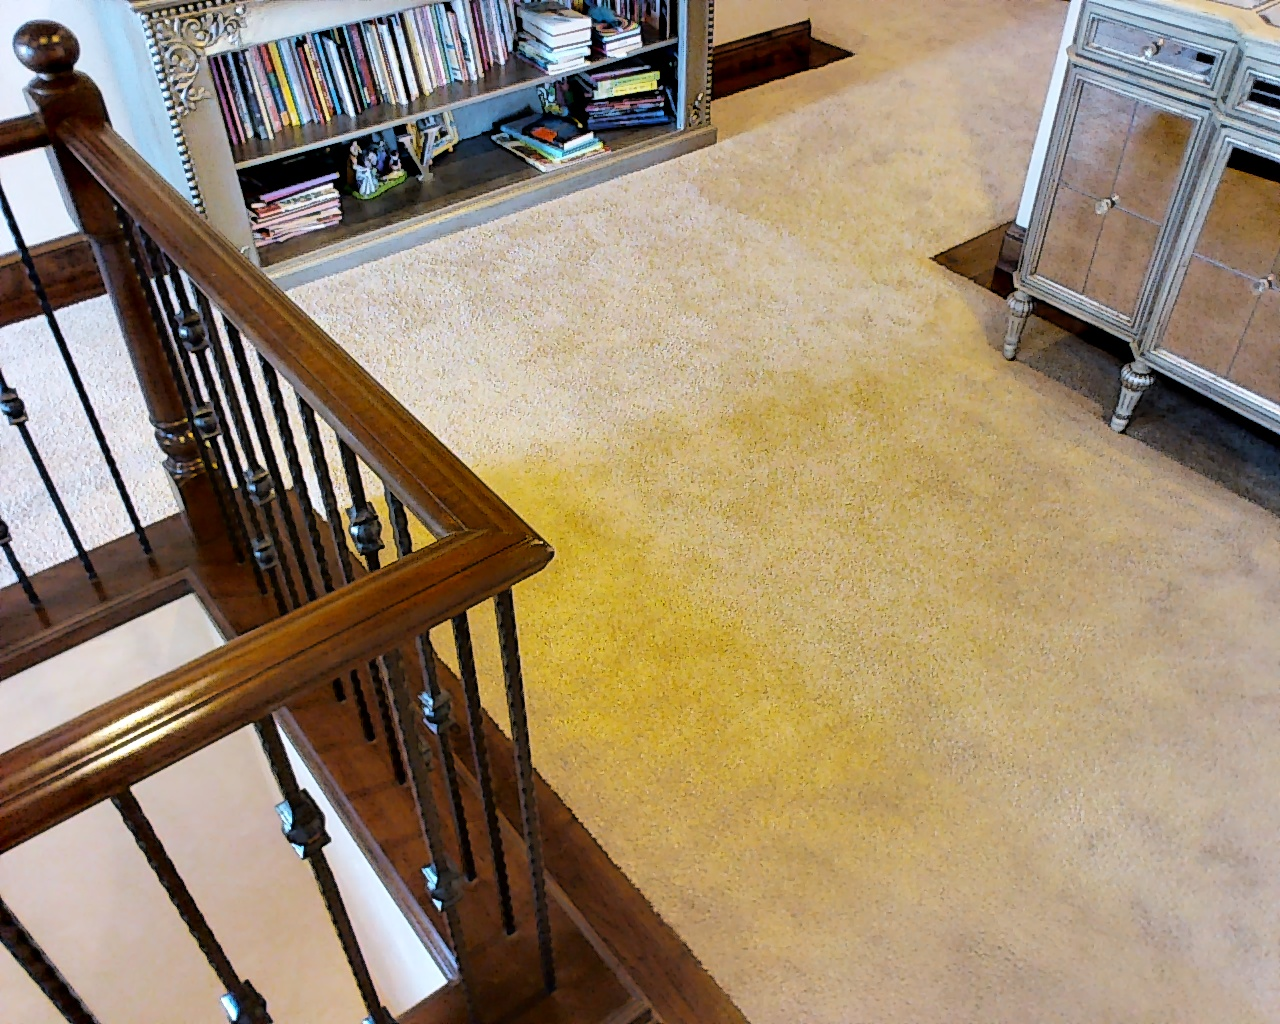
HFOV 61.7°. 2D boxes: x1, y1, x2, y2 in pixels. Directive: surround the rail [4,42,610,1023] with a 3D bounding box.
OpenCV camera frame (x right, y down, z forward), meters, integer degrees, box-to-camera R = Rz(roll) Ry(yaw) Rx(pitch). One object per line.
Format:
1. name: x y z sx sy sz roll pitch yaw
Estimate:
1. rail: -0.440 0.010 1.390 0.110 0.870 1.170 -27 49 -27
